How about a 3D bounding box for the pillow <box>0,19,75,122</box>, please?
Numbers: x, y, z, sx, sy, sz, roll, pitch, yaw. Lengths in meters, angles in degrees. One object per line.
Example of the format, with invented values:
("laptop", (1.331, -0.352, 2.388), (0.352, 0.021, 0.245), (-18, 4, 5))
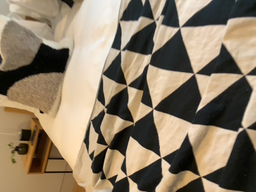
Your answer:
("pillow", (-0.570, -0.130, 1.150), (0.240, 0.390, 0.440), (24, 99, 54))
